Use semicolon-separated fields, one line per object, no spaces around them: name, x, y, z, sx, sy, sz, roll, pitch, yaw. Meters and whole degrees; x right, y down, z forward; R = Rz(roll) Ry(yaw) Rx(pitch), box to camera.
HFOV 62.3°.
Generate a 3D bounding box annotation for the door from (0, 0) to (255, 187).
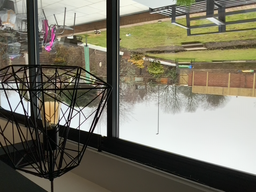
door;-0.810;-0.670;2.830;5.160;2.300;0.060;6;-172;39
